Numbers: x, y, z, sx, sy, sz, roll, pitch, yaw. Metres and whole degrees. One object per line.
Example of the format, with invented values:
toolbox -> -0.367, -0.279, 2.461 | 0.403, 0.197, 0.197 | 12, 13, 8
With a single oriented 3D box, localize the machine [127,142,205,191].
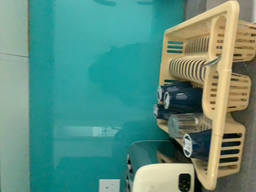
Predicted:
machine -> 0.100, 0.320, 0.670 | 0.170, 0.190, 0.300 | -124, 37, -79
